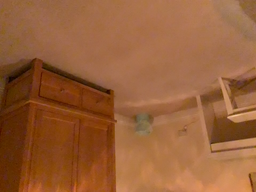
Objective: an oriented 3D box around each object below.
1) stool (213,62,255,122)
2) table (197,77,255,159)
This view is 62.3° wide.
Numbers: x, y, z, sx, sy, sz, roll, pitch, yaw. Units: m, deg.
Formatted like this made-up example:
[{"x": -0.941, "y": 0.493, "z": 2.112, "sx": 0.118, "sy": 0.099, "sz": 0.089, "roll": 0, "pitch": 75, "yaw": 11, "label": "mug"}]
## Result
[{"x": 1.170, "y": -0.020, "z": 2.150, "sx": 0.420, "sy": 0.450, "sz": 0.330, "roll": -18, "pitch": 154, "yaw": 34, "label": "stool"}, {"x": 1.490, "y": 0.230, "z": 2.350, "sx": 1.180, "sy": 0.780, "sz": 0.460, "roll": -20, "pitch": 153, "yaw": 37, "label": "table"}]
